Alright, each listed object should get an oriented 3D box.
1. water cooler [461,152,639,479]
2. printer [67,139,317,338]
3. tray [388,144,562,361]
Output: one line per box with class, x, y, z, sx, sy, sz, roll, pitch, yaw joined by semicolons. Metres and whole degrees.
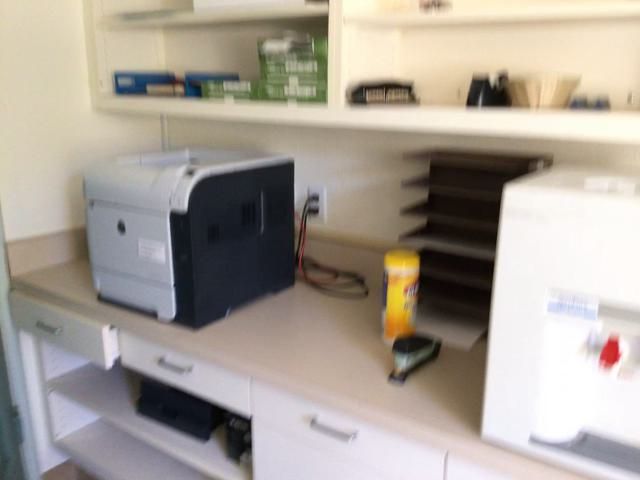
water cooler;0.520;0.110;1.010;0.360;0.450;0.410;13;20;34
printer;-0.350;-0.050;1.680;0.470;0.400;0.500;13;20;34
tray;0.390;0.010;1.490;0.320;0.460;0.250;13;20;34
